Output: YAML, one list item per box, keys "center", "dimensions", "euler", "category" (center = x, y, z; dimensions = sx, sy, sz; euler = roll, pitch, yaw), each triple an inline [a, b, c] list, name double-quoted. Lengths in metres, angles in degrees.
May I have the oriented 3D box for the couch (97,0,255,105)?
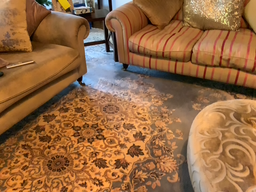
- center: [0.660, -0.640, 1.970]
  dimensions: [1.610, 0.850, 0.880]
  euler: [14, 37, 21]
  category: "couch"
